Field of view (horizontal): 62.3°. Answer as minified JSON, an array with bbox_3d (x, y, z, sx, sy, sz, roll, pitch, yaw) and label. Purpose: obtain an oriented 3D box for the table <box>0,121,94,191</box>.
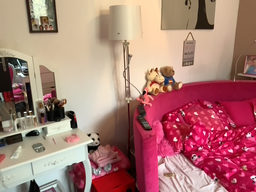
[{"bbox_3d":[-0.750,0.710,1.600,0.850,0.760,0.450,-12,20,-33],"label":"table"}]
